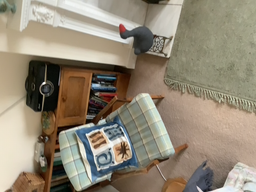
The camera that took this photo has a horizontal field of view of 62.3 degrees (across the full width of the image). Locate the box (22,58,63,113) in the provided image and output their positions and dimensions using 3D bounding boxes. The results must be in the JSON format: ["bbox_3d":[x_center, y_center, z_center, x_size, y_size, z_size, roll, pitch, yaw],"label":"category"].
[{"bbox_3d":[-0.660,-0.080,1.630,0.190,0.190,0.370,19,103,37],"label":"box"}]

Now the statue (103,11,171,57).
[{"bbox_3d":[0.100,-0.490,1.750,0.210,0.580,0.240,22,105,36],"label":"statue"}]
